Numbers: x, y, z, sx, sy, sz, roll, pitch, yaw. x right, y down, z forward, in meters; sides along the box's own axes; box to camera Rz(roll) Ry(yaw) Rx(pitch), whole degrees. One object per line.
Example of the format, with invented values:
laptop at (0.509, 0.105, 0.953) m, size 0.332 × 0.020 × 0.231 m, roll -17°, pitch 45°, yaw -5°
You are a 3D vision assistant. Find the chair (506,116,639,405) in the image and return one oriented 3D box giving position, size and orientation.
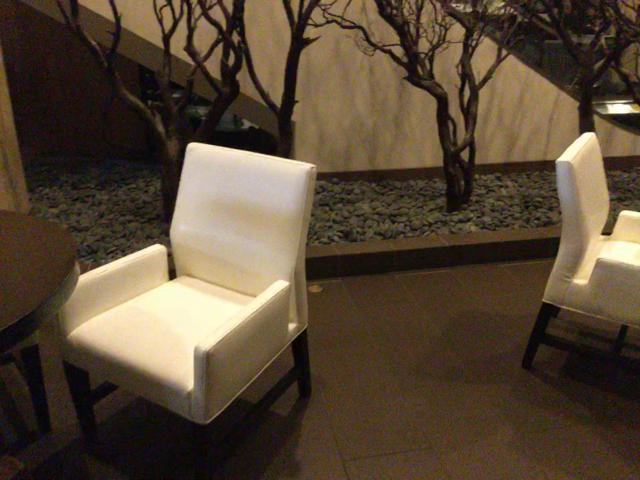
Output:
chair at (1.260, 0.050, 2.140) m, size 0.880 × 0.870 × 0.700 m, roll 10°, pitch 25°, yaw 33°

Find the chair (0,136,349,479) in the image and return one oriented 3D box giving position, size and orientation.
chair at (-0.390, 0.160, 1.840) m, size 0.660 × 0.820 × 0.730 m, roll 9°, pitch 24°, yaw 30°
